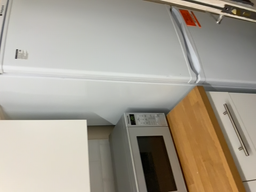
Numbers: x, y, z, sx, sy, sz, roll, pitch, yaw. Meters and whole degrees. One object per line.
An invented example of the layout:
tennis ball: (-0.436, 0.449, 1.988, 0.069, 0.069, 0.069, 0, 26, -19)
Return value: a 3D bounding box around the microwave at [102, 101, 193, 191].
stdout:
microwave: (0.060, 0.340, 1.120, 0.380, 0.260, 0.500, 119, 146, -50)
